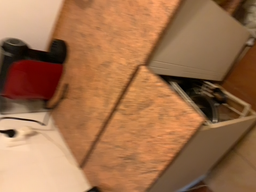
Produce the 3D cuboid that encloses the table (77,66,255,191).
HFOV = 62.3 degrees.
[{"bbox_3d":[0.280,0.200,1.020,0.280,0.860,0.530,46,119,32],"label":"table"}]
